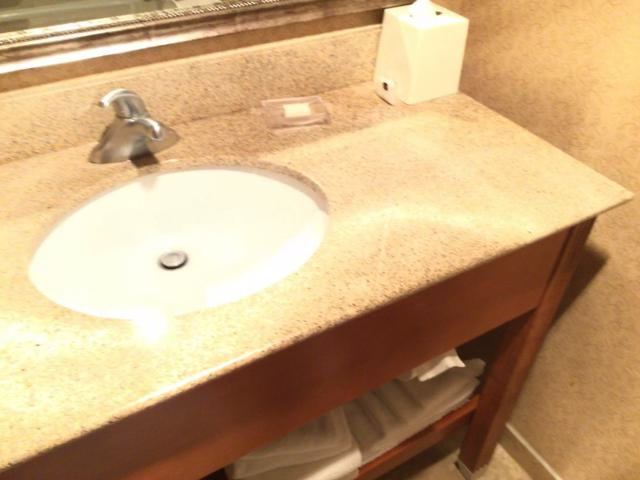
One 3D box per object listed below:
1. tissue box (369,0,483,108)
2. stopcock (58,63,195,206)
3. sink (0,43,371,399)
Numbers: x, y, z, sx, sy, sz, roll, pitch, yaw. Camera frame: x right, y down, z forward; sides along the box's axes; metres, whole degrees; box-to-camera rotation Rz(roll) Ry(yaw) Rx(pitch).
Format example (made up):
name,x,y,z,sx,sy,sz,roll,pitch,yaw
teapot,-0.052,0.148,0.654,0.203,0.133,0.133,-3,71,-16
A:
name,x,y,z,sx,sy,sz,roll,pitch,yaw
tissue box,0.200,-0.380,1.130,0.140,0.170,0.140,-20,45,-25
stopcock,-0.300,-0.170,0.910,0.150,0.150,0.130,-20,45,-25
sink,-0.210,-0.060,0.860,0.450,0.290,0.310,-20,45,-25
